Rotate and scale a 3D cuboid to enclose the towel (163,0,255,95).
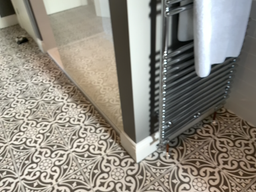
[{"bbox_3d":[0.400,-0.510,0.840,0.490,0.950,0.170,-28,45,-24],"label":"towel"}]
